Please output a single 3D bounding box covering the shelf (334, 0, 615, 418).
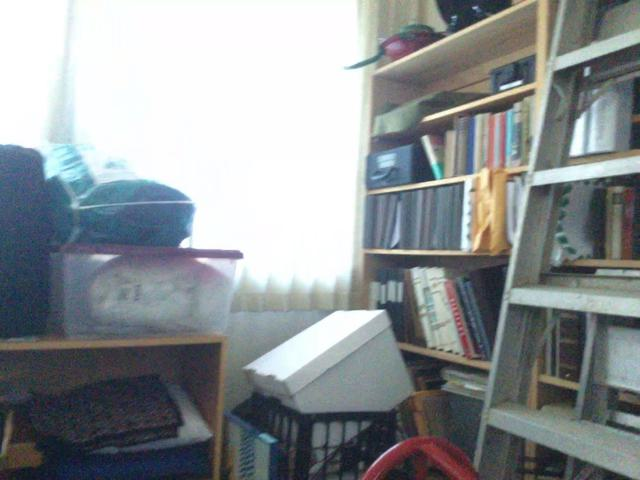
[{"bbox_3d":[0.490,-0.200,2.110,0.350,1.400,1.000,4,-3,-30],"label":"shelf"}]

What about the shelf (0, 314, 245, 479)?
[{"bbox_3d":[-0.770,0.790,1.650,0.940,1.100,0.480,4,-3,-30],"label":"shelf"}]

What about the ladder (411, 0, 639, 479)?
[{"bbox_3d":[0.610,0.380,1.290,0.450,2.400,0.580,17,-10,-29],"label":"ladder"}]
